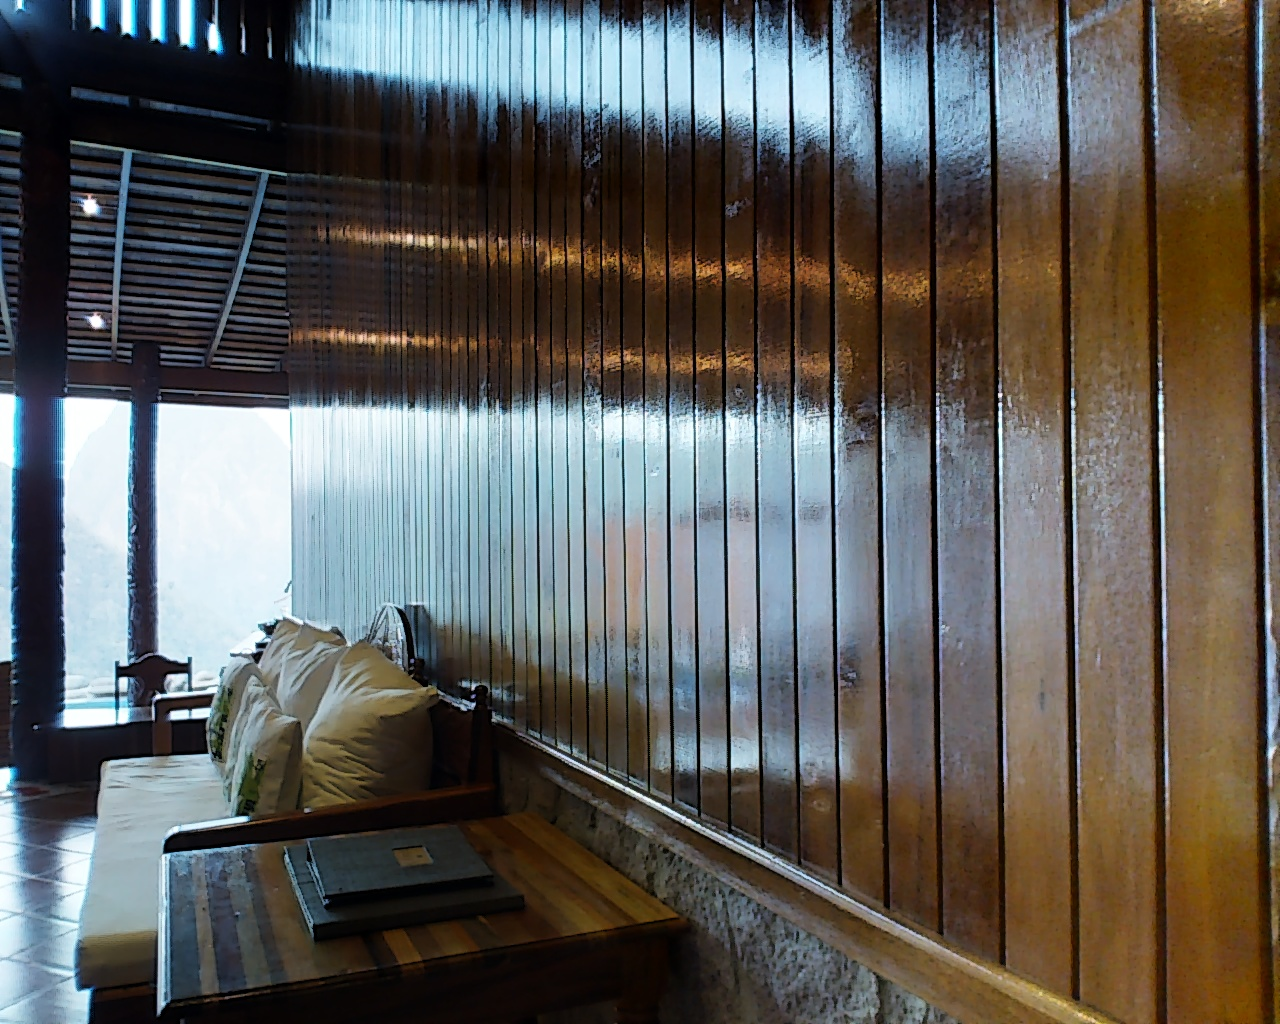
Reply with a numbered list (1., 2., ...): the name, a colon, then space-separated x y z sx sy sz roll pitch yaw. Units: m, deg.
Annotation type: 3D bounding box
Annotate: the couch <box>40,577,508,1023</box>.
1. couch: -1.200 0.780 3.340 0.920 1.050 2.410 0 -1 -23
